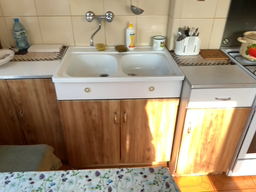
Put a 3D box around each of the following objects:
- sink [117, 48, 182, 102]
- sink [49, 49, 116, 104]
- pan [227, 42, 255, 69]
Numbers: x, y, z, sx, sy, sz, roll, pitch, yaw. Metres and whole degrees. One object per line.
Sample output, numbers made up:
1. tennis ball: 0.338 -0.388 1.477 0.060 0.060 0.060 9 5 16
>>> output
1. sink: 0.120 -0.180 1.580 0.400 0.170 0.540 -1 32 -3
2. sink: -0.290 -0.170 1.560 0.400 0.170 0.540 -1 32 -3
3. pan: 0.890 -0.300 1.540 0.230 0.120 0.220 1 32 -1
